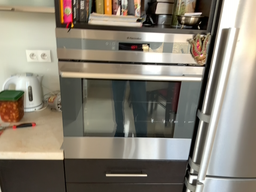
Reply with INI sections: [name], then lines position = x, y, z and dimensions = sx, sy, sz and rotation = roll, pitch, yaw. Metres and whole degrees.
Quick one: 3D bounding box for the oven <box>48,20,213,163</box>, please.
[oven]
position = -0.020, -0.080, 1.180
dimensions = 0.610, 0.590, 0.630
rotation = 1, 22, -5
